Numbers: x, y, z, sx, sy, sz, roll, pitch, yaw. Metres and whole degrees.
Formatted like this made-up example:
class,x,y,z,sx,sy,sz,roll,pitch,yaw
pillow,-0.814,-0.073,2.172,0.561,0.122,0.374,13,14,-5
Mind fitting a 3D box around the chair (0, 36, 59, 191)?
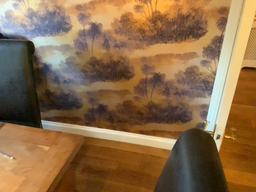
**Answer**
class,x,y,z,sx,sy,sz,roll,pitch,yaw
chair,-0.920,0.190,1.560,0.430,1.090,0.630,4,31,5
